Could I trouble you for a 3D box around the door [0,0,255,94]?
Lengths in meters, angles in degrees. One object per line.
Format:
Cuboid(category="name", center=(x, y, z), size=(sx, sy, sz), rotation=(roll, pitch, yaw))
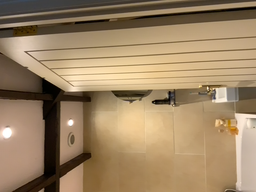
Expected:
Cuboid(category="door", center=(0.420, -0.200, 0.980), size=(0.890, 1.990, 0.070), rotation=(61, -151, -70))
